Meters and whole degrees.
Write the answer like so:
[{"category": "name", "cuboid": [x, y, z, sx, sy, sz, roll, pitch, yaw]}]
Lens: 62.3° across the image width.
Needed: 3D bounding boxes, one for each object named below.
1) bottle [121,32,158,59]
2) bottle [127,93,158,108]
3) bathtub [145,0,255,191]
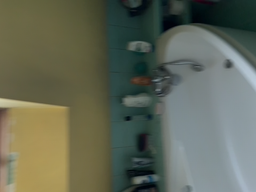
[{"category": "bottle", "cuboid": [0.090, -0.410, 1.760, 0.190, 0.240, 0.150, 166, 103, -66]}, {"category": "bottle", "cuboid": [0.120, 0.040, 1.740, 0.080, 0.230, 0.110, 156, 111, -65]}, {"category": "bathtub", "cuboid": [0.700, 0.200, 1.300, 1.280, 0.530, 1.520, 156, 111, -65]}]
